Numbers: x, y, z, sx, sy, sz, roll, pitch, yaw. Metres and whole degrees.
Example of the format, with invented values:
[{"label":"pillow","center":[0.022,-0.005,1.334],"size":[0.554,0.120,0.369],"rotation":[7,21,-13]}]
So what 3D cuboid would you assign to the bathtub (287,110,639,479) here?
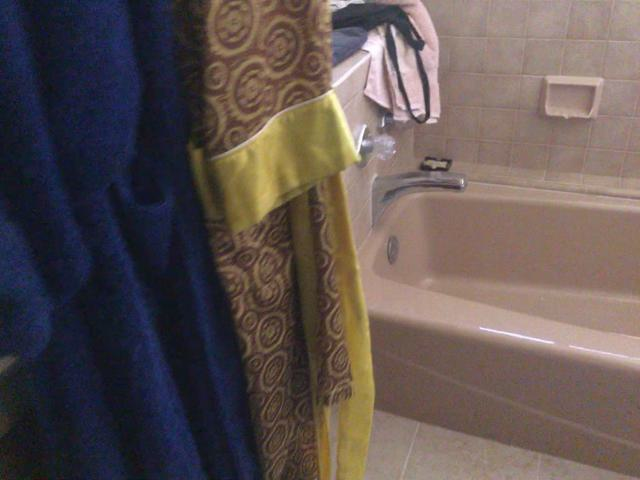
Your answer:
[{"label":"bathtub","center":[0.930,0.120,1.430],"size":[1.780,0.540,0.830],"rotation":[7,35,21]}]
